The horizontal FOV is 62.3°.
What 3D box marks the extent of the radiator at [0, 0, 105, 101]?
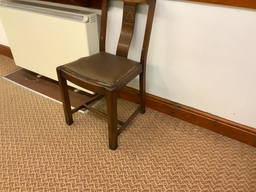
[{"bbox_3d":[-0.690,-0.440,1.810,1.080,0.650,0.170,21,39,26],"label":"radiator"}]
